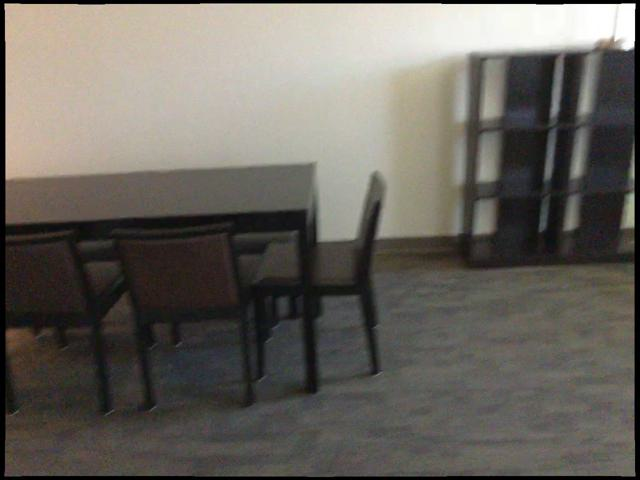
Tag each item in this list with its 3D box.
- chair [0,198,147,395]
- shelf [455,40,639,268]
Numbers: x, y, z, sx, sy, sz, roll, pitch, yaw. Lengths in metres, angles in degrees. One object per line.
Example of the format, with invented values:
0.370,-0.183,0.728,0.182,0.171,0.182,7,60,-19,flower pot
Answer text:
-1.118,0.230,2.470,0.489,0.691,0.470,-2,23,5,chair
1.347,-0.481,3.300,1.048,1.202,0.370,-2,19,4,shelf
